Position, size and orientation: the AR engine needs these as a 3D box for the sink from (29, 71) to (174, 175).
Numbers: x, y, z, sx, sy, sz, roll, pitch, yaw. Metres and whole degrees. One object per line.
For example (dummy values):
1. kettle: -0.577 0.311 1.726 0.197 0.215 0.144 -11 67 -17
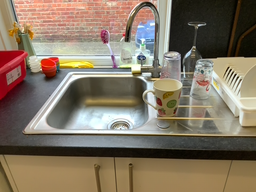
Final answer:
1. sink: -0.080 0.080 0.950 0.470 0.210 0.490 0 29 2
